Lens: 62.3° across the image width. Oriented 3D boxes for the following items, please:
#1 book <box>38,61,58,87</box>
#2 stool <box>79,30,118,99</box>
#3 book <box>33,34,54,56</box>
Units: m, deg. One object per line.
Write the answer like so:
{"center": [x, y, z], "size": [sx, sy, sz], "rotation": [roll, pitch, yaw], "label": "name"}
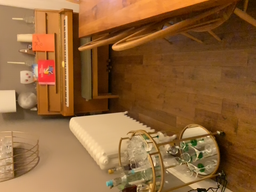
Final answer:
{"center": [-1.140, -0.310, 3.020], "size": [0.090, 0.240, 0.350], "rotation": [14, 105, 60], "label": "book"}
{"center": [-0.440, -0.440, 3.160], "size": [0.370, 0.470, 0.930], "rotation": [9, 100, 62], "label": "stool"}
{"center": [-1.180, -0.710, 2.970], "size": [0.110, 0.260, 0.280], "rotation": [15, 106, 60], "label": "book"}
